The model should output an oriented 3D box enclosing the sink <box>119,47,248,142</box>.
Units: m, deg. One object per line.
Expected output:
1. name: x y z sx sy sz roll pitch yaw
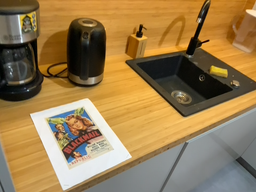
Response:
1. sink: 0.260 -0.050 1.070 0.420 0.160 0.440 -16 46 -32
